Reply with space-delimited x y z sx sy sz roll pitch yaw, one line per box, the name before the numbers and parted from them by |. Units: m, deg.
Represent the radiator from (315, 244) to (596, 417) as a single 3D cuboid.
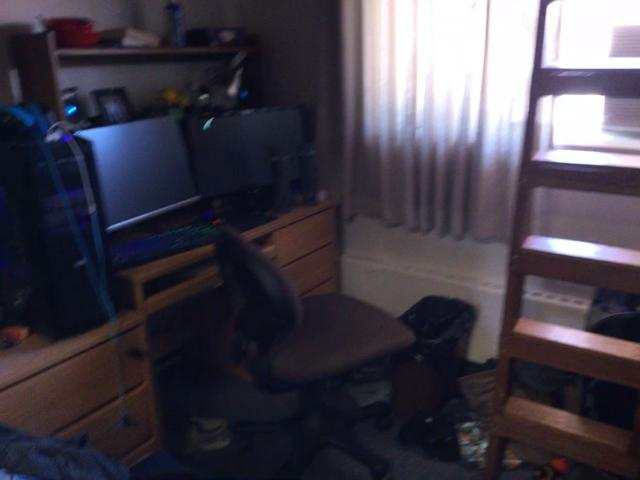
radiator | 0.510 0.340 2.440 1.120 0.450 0.190 10 20 30
